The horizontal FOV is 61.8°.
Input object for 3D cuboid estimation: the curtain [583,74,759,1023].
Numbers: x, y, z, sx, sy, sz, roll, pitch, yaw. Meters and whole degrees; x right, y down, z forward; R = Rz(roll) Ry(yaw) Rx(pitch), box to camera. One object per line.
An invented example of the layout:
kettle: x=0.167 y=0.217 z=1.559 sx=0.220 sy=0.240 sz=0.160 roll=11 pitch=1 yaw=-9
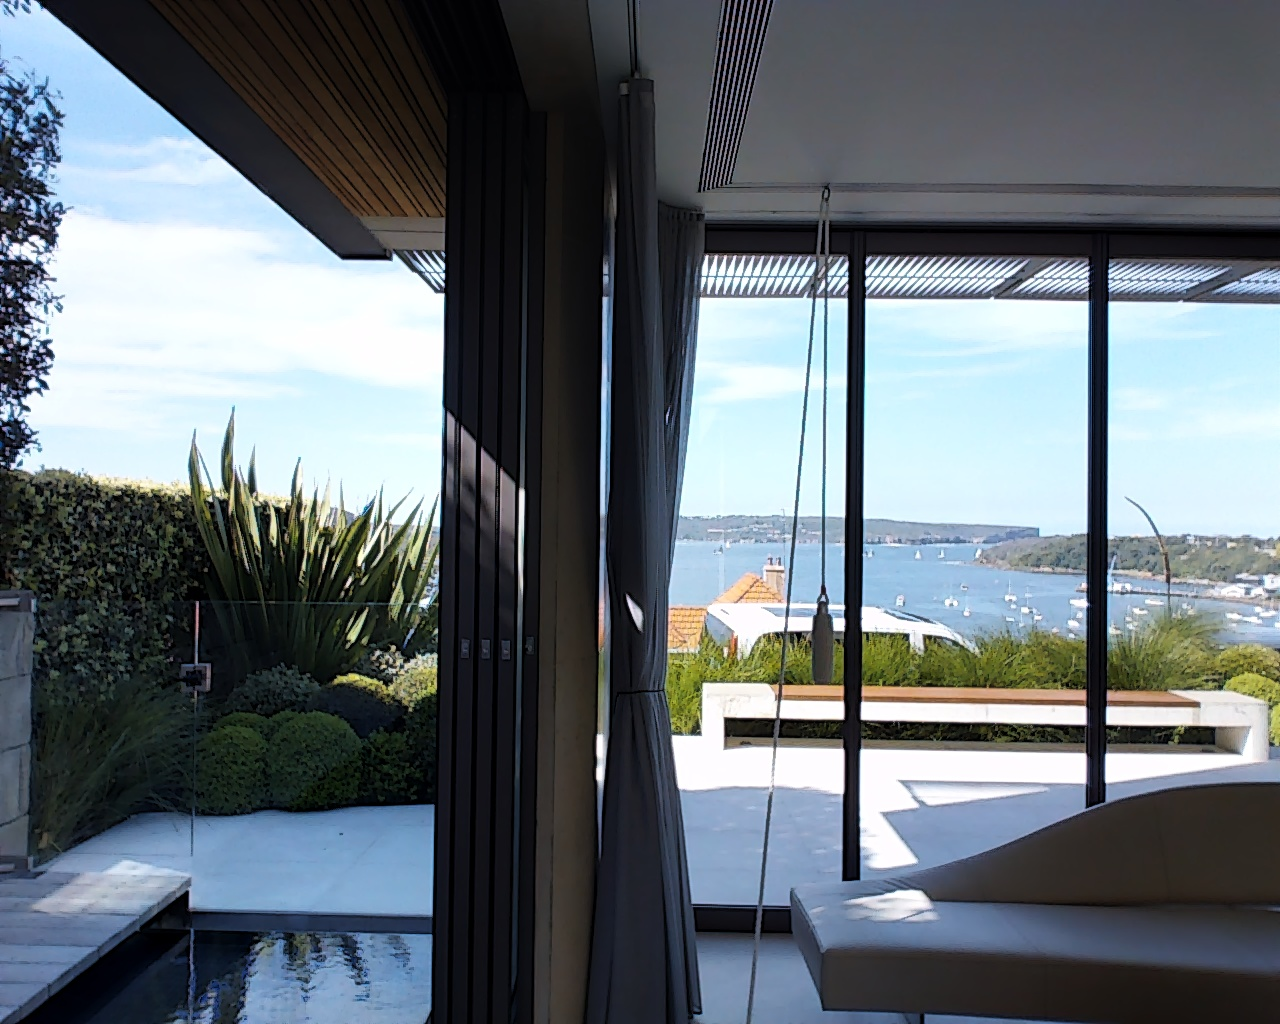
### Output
curtain: x=0.090 y=0.220 z=3.300 sx=0.410 sy=2.661 sz=1.170 roll=1 pitch=-1 yaw=1

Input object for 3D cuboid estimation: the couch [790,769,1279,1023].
couch: x=2.339 y=1.220 z=3.210 sx=3.659 sy=0.630 sz=0.850 roll=1 pitch=-1 yaw=1
